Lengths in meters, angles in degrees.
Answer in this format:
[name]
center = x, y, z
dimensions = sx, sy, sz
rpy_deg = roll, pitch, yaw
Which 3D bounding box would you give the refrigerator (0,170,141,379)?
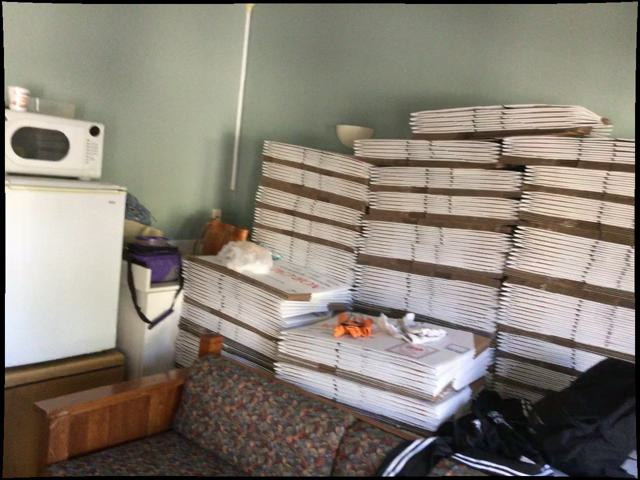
[refrigerator]
center = -1.369, 0.110, 2.890
dimensions = 0.660, 0.851, 0.640
rpy_deg = 14, 13, 43

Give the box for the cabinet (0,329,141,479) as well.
[cabinet]
center = -1.289, 0.821, 2.830
dimensions = 0.330, 0.571, 0.700
rpy_deg = 13, 12, 38

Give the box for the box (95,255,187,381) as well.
[box]
center = -0.949, 0.390, 3.040
dimensions = 0.430, 0.531, 0.250
rpy_deg = 13, 12, 38
